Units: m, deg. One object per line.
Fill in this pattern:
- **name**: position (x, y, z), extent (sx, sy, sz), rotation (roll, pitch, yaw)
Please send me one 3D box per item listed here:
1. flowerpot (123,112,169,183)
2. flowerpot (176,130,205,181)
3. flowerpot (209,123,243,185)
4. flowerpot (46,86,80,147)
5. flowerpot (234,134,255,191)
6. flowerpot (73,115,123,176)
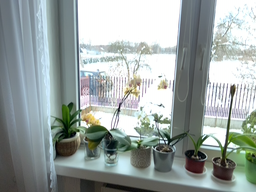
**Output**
- **flowerpot**: position (0.110, 0.300, 1.300), extent (0.230, 0.350, 0.180), rotation (5, 12, 17)
- **flowerpot**: position (0.380, 0.350, 1.280), extent (0.140, 0.220, 0.170), rotation (6, 13, 19)
- **flowerpot**: position (0.550, 0.320, 1.210), extent (0.130, 0.280, 0.160), rotation (6, 13, 18)
- **flowerpot**: position (-0.430, 0.130, 1.420), extent (0.150, 0.360, 0.150), rotation (4, 12, 13)
- **flowerpot**: position (0.720, 0.380, 1.220), extent (0.140, 0.250, 0.190), rotation (5, 13, 17)
- **flowerpot**: position (-0.180, 0.300, 1.340), extent (0.250, 0.290, 0.200), rotation (4, 12, 13)
